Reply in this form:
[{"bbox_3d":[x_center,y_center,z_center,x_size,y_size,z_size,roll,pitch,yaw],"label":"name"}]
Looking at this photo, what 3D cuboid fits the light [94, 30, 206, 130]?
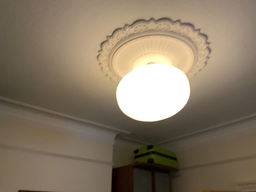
[{"bbox_3d":[0.150,-0.060,1.630,0.620,0.510,0.400,-26,52,38],"label":"light"}]
